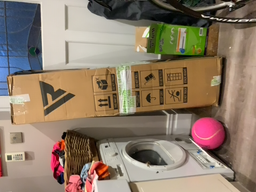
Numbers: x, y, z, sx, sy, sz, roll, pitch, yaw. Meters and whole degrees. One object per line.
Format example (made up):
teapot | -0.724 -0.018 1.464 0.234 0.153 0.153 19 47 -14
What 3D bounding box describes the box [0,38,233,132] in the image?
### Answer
box | -0.070 -0.050 1.460 0.530 1.430 0.460 178 92 -75
